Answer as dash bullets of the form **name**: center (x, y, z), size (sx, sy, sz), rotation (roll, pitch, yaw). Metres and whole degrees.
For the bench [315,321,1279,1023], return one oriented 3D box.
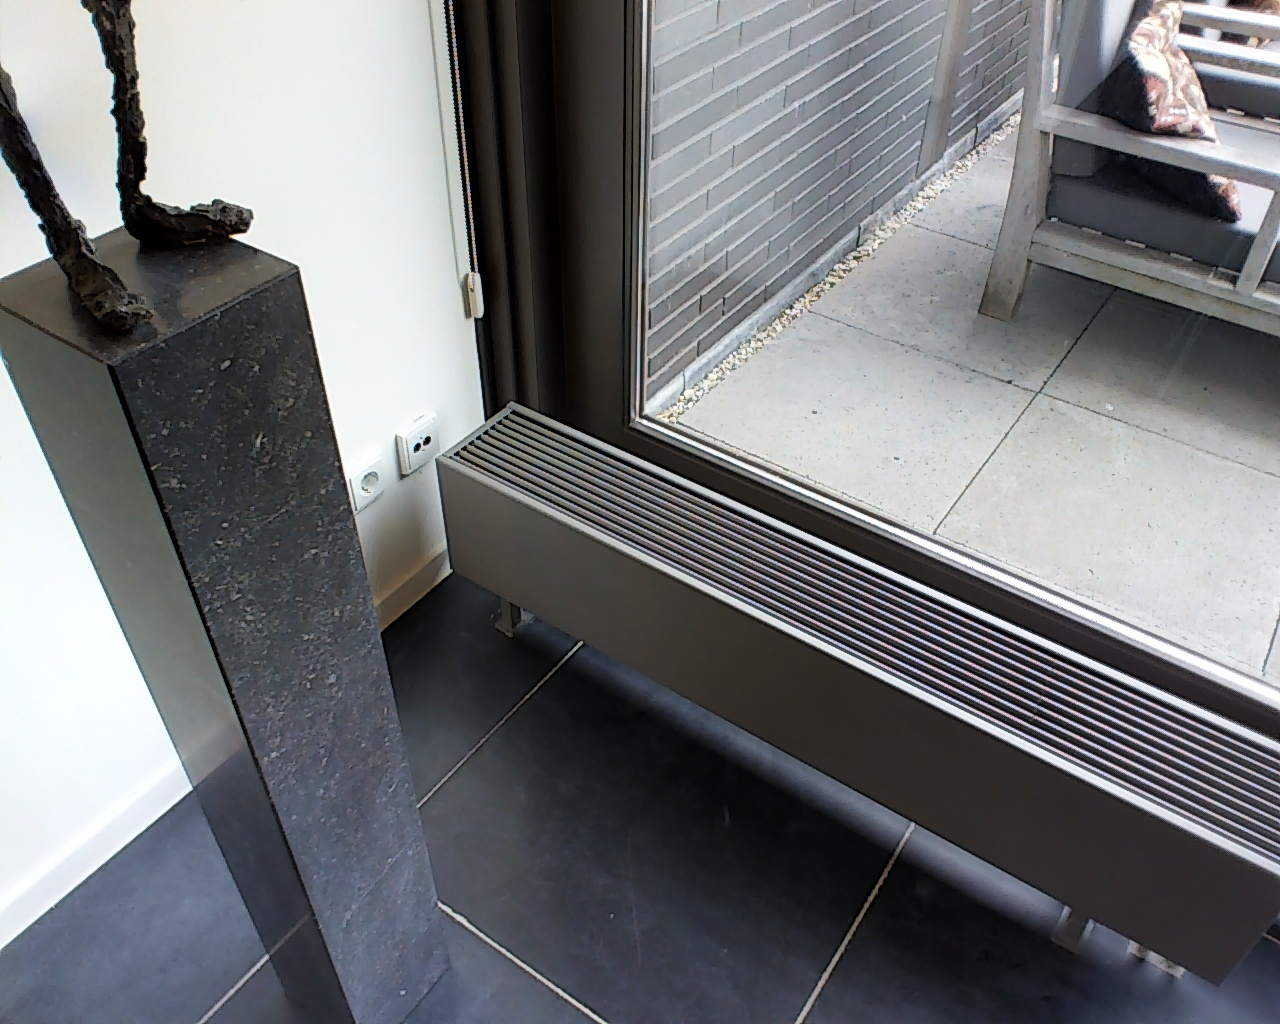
- **bench**: center (0.200, 0.210, 1.570), size (1.320, 0.410, 0.470), rotation (26, 47, 24)
